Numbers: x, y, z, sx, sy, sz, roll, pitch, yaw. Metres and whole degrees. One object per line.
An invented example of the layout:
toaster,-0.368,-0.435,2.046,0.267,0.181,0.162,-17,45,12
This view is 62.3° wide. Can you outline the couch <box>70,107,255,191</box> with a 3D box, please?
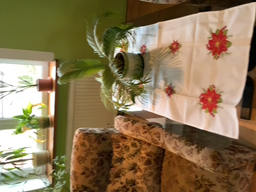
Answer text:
couch,0.200,0.560,1.420,0.880,0.920,0.780,17,105,57
